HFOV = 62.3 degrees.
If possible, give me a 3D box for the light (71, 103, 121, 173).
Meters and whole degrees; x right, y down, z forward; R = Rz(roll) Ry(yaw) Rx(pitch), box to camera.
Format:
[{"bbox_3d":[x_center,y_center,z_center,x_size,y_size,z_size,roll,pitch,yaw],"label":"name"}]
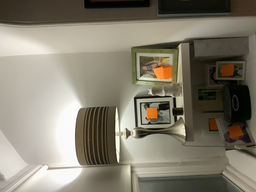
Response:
[{"bbox_3d":[-0.180,0.240,1.320,0.280,0.250,0.360,-92,-1,-87],"label":"light"}]
